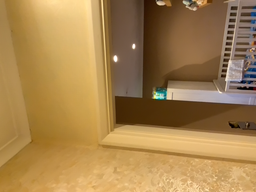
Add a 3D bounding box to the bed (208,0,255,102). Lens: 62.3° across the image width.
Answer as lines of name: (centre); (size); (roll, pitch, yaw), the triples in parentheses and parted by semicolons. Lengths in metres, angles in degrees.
bed: (1.980, -0.790, 3.570); (0.780, 0.910, 1.590); (-59, -29, -67)
